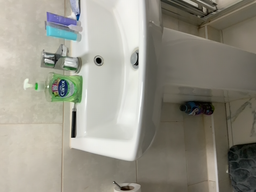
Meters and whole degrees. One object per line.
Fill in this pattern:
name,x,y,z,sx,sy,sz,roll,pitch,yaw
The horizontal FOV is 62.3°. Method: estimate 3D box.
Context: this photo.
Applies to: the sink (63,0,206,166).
sink,-0.020,-0.120,0.630,0.390,0.200,0.560,-13,76,53
